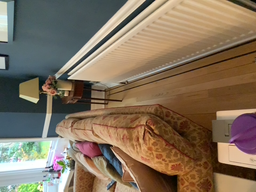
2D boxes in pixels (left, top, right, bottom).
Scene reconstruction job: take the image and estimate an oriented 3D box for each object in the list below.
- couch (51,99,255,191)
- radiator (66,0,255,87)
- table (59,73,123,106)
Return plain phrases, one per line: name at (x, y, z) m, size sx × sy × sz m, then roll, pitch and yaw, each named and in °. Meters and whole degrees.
couch at (-0.030, 0.650, 1.900) m, size 2.060 × 0.860 × 1.030 m, roll -11°, pitch 77°, yaw 59°
radiator at (0.120, -0.310, 1.880) m, size 1.970 × 0.840 × 0.100 m, roll -13°, pitch 75°, yaw 59°
table at (-0.560, -0.060, 3.130) m, size 0.690 × 0.720 × 0.340 m, roll -12°, pitch 76°, yaw 59°
